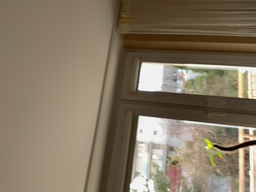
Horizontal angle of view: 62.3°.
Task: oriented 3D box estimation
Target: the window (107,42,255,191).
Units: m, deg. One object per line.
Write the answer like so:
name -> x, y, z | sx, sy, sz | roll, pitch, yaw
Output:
window -> 0.710, 0.360, 1.800 | 0.250, 1.620, 1.630 | 56, -140, -71
